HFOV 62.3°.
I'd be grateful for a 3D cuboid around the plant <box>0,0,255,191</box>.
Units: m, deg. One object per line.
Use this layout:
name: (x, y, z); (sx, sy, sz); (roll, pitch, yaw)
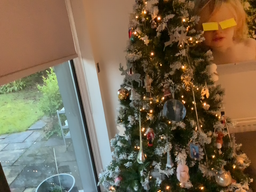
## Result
plant: (0.200, 0.110, 1.430); (1.190, 1.990, 1.280); (-6, 16, 5)
